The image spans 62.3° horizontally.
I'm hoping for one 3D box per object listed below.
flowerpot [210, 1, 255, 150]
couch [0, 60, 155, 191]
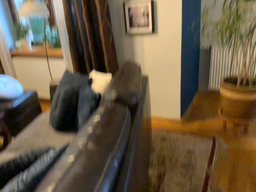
[{"bbox_3d":[1.200,-0.190,1.970,0.620,1.260,0.530,11,29,35],"label":"flowerpot"},{"bbox_3d":[-0.400,0.450,1.370,1.040,0.870,1.810,-2,24,10],"label":"couch"}]
